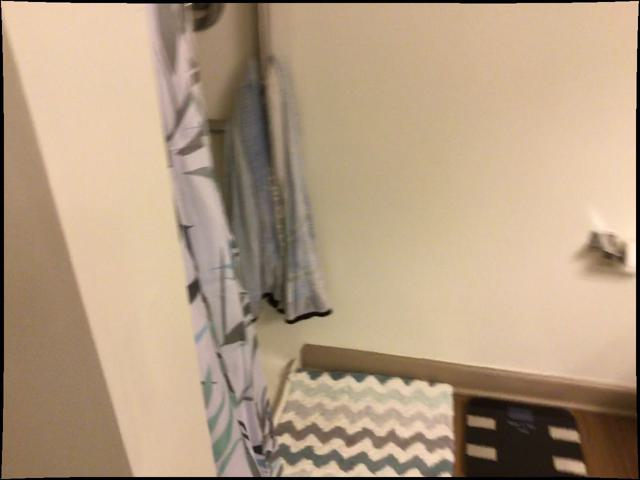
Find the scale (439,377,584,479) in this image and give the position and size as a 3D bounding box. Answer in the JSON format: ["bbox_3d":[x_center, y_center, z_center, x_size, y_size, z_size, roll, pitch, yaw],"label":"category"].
[{"bbox_3d":[0.529,0.551,1.620,0.359,0.050,0.330,6,34,12],"label":"scale"}]

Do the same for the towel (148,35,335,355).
[{"bbox_3d":[-0.170,-0.090,1.570,0.379,0.851,0.190,6,34,12],"label":"towel"}]
